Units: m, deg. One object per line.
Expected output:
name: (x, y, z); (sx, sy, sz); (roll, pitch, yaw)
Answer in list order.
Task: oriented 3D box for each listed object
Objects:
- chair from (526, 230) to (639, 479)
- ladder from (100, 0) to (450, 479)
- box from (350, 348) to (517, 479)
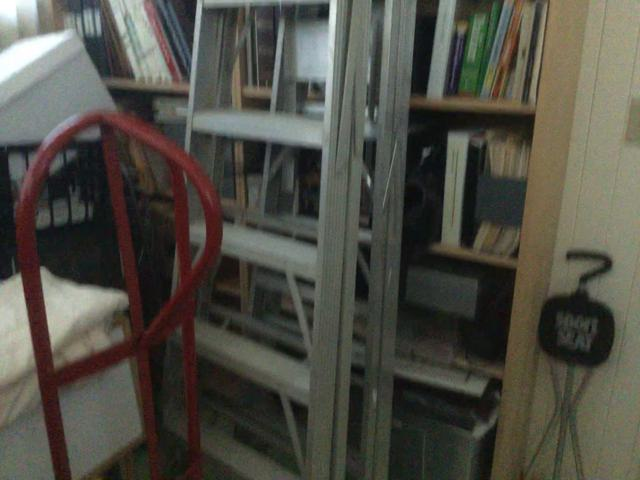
chair: (0.720, 0.400, 1.620); (0.180, 0.840, 0.090); (12, 21, 32)
ladder: (-0.090, -0.320, 1.390); (0.580, 2.400, 0.450); (12, 10, 33)
box: (0.310, 0.620, 1.610); (0.330, 0.470, 0.320); (12, 21, 32)
